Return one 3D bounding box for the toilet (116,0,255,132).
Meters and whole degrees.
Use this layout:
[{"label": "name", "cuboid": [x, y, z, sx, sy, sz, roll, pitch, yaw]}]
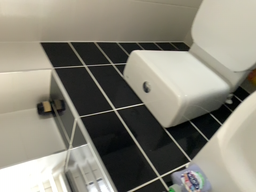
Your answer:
[{"label": "toilet", "cuboid": [0.440, -0.280, 0.920, 0.380, 0.760, 0.630, 52, 137, 34]}]
